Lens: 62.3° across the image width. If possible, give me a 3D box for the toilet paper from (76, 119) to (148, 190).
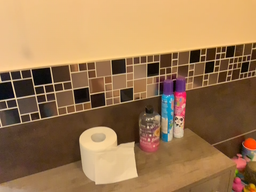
[{"bbox_3d":[-0.050,0.170,0.660,0.180,0.120,0.130,-11,23,-23],"label":"toilet paper"}]
